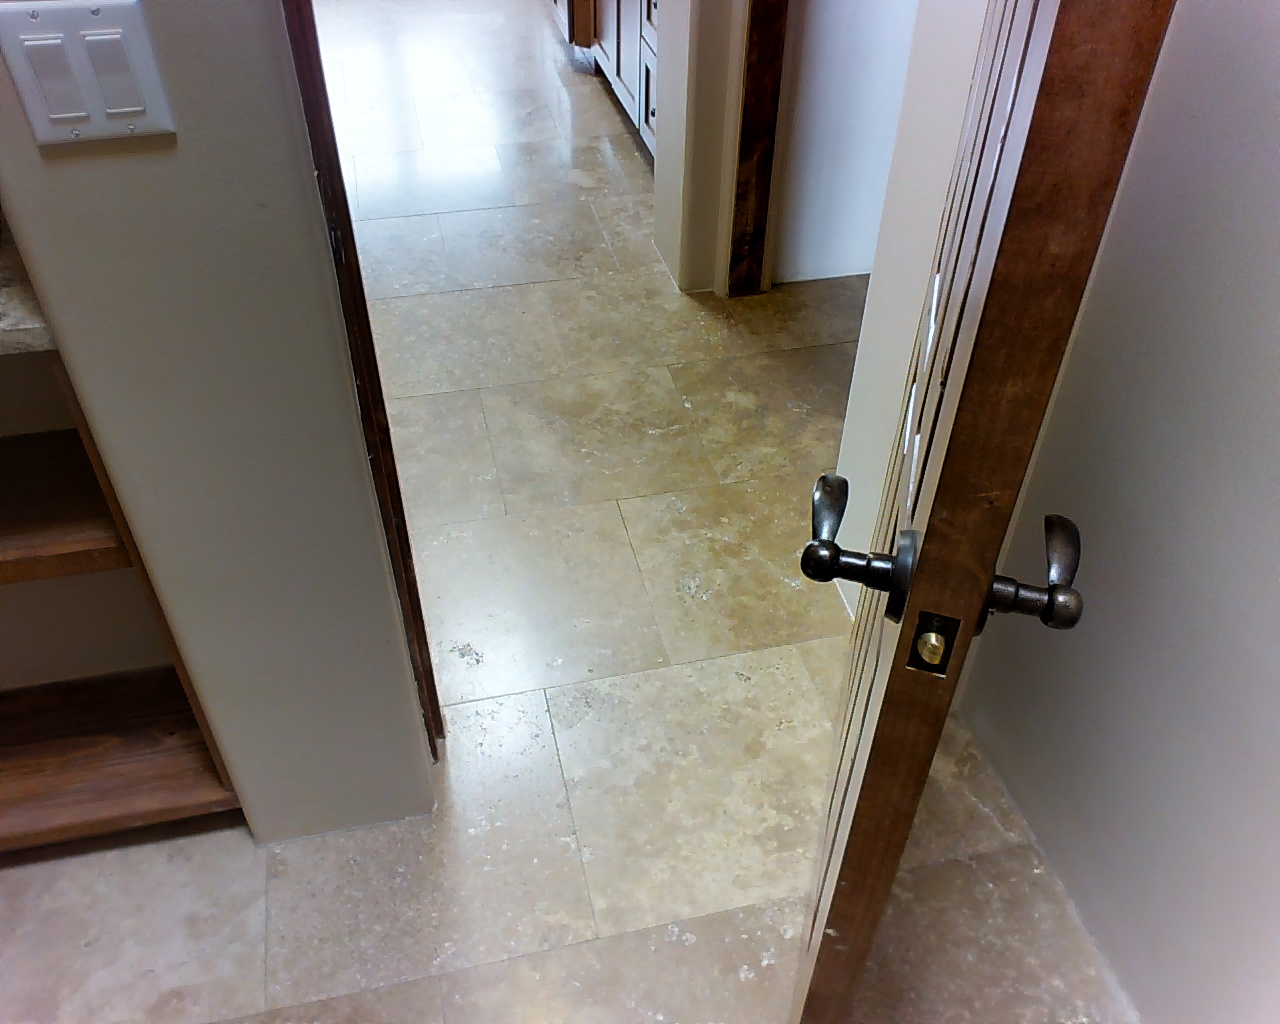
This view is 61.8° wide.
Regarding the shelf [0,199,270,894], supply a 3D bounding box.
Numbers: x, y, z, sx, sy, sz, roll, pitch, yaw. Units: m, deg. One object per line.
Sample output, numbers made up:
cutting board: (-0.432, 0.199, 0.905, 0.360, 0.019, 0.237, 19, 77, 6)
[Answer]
shelf: (-0.880, 0.110, 1.380, 0.580, 0.900, 0.300, -8, 42, -10)
